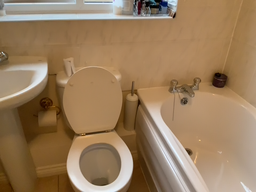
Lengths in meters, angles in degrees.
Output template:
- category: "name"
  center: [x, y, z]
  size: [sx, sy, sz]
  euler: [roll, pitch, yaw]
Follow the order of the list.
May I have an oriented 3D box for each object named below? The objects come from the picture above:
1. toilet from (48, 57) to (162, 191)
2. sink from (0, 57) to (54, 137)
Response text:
- category: "toilet"
  center: [-0.170, 0.280, 1.240]
  size: [0.410, 0.810, 0.650]
  euler: [-5, 32, -14]
- category: "sink"
  center: [-0.680, -0.010, 1.020]
  size: [0.580, 0.170, 0.460]
  euler: [-6, 33, -15]
